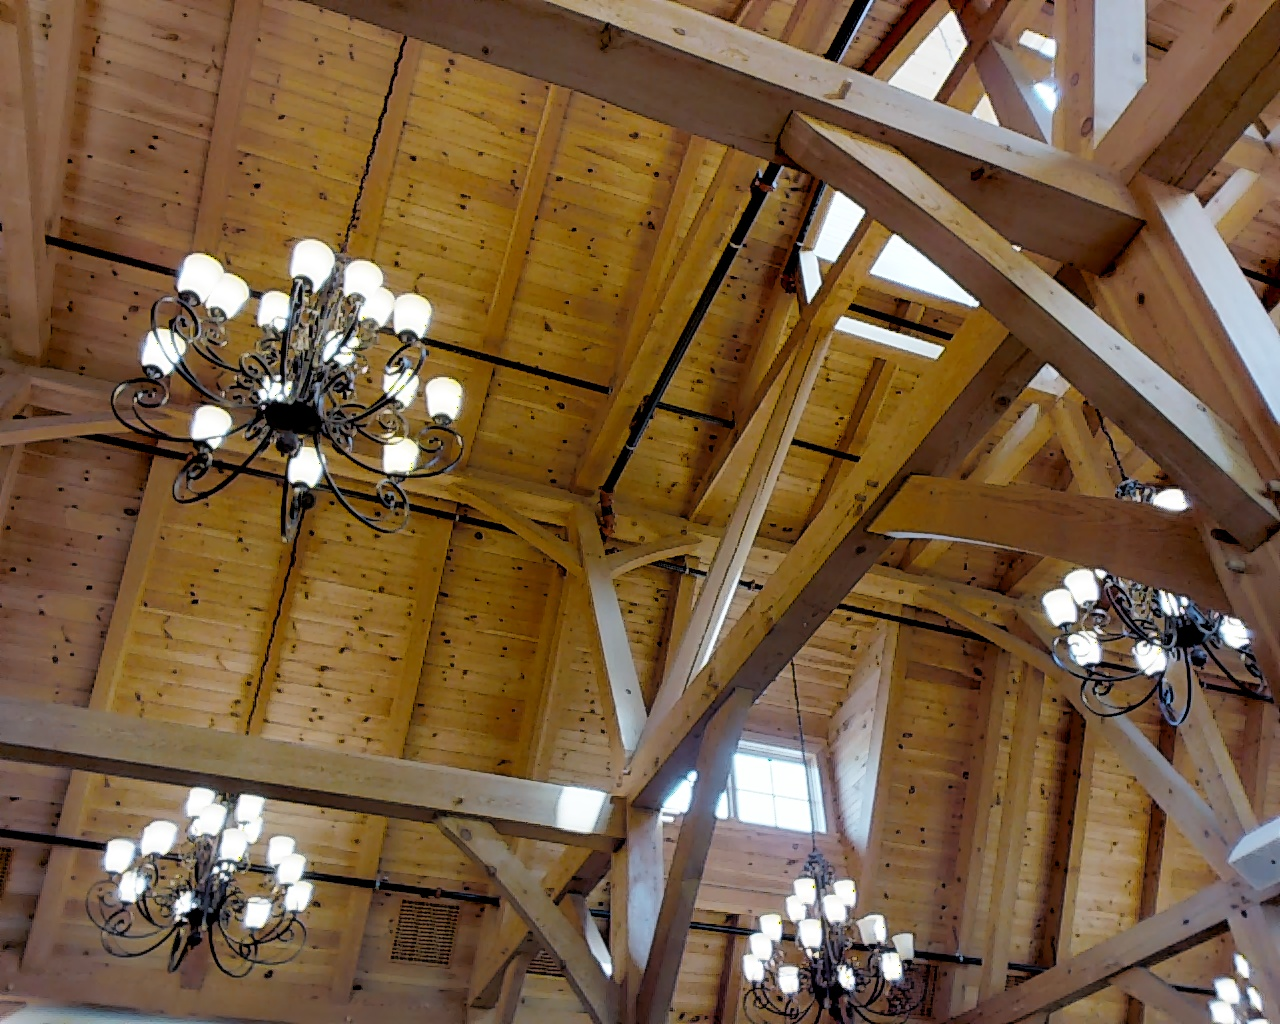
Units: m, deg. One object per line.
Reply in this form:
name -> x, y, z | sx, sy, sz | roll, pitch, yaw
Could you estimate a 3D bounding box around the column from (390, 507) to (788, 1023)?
column -> -0.490, 3.052, 5.250 | 1.140, 5.192, 3.200 | 13, -43, -16
